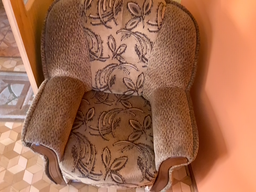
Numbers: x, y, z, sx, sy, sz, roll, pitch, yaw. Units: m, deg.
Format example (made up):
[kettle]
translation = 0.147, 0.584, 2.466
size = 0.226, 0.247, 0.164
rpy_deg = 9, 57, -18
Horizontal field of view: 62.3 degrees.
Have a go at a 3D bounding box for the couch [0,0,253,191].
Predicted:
[couch]
translation = -0.050, -0.060, 1.340
size = 0.900, 0.910, 0.920
rpy_deg = 6, 47, -2
